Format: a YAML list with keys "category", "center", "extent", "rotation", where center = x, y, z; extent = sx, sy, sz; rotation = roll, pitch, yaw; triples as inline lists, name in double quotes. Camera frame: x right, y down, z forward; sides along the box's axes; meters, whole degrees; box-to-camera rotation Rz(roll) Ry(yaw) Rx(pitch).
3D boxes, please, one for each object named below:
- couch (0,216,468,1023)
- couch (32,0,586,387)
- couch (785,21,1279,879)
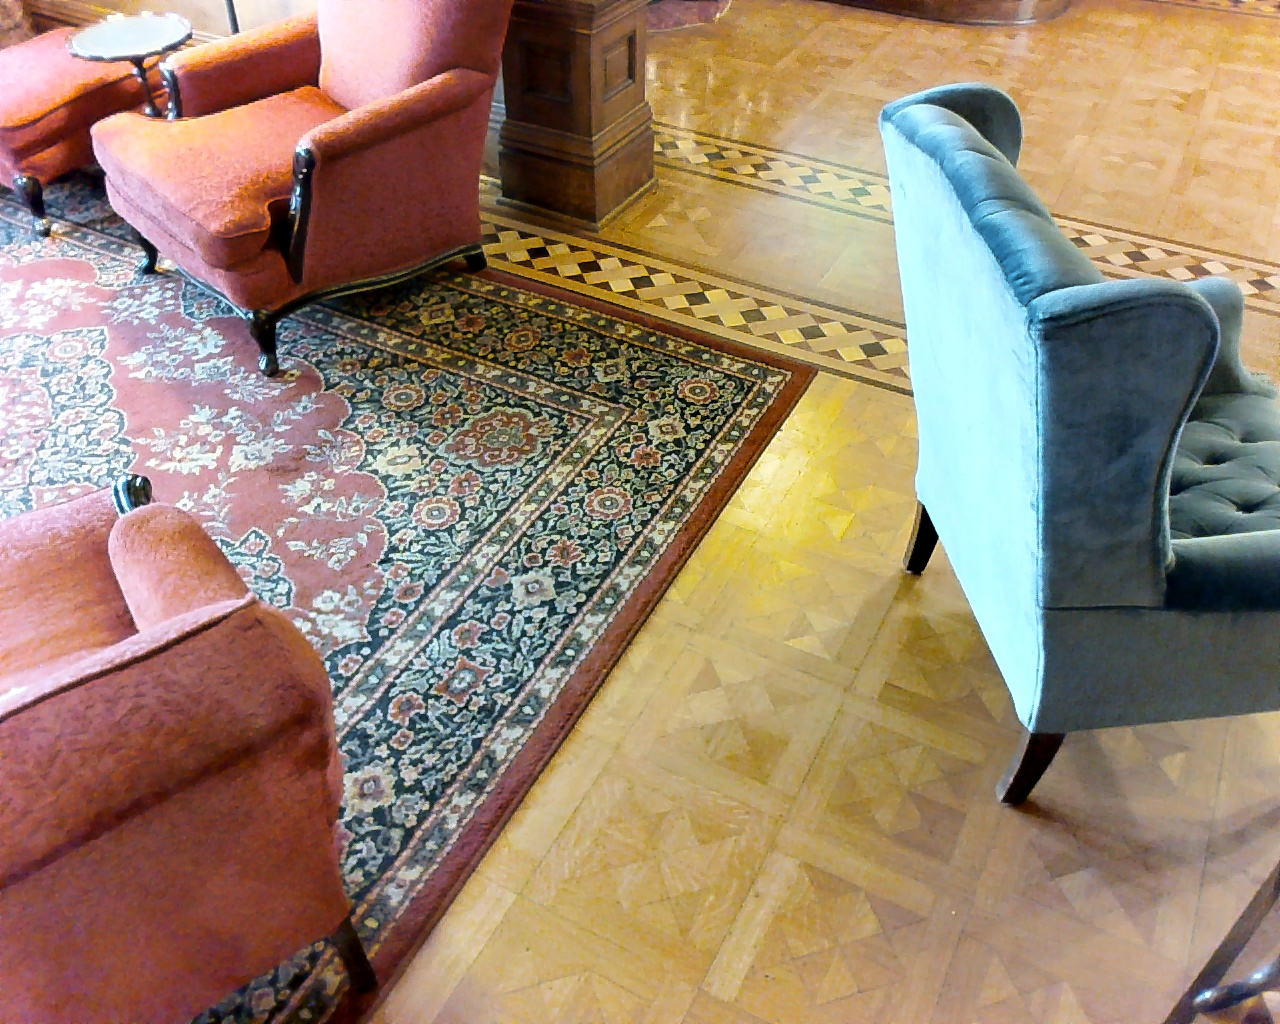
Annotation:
- category: "couch"
  center: [-0.820, 0.320, 1.260]
  extent: [0.790, 0.810, 0.930]
  rotation: [-27, 50, -26]
- category: "couch"
  center: [-0.780, -1.030, 2.730]
  extent: [0.990, 0.840, 0.780]
  rotation: [-33, 52, -31]
- category: "couch"
  center: [0.780, -0.090, 1.640]
  extent: [0.880, 0.990, 0.760]
  rotation: [-5, 43, -5]
